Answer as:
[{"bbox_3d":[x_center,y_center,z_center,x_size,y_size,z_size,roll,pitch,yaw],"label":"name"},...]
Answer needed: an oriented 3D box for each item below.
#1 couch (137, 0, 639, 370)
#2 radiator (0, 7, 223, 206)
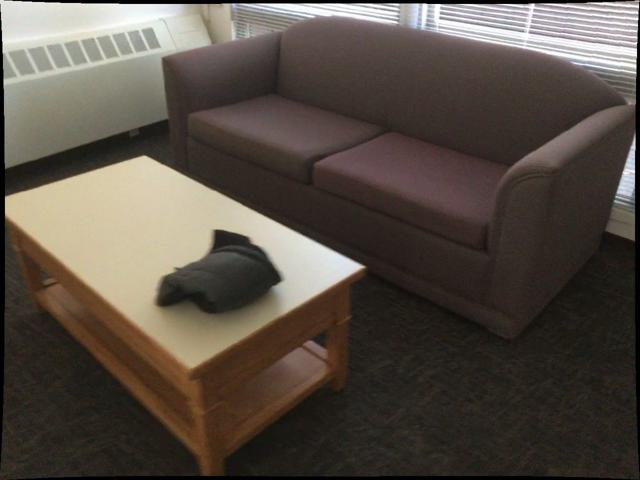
[{"bbox_3d":[0.230,-0.451,2.470,1.839,0.761,1.039,27,40,36],"label":"couch"},{"bbox_3d":[-1.378,-0.631,2.830,0.270,0.661,2.159,22,38,31],"label":"radiator"}]
